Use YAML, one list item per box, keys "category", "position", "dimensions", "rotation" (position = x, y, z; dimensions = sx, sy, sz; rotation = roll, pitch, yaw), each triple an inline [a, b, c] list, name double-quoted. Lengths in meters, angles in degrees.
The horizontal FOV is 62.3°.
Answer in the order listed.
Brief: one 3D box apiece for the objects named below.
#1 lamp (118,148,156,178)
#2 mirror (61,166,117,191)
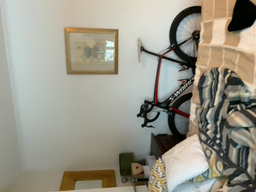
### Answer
- category: "lamp"
  position: [0.110, 0.890, 2.850]
  dimensions: [0.290, 0.460, 0.230]
  rotation: [-115, 25, -71]
- category: "mirror"
  position: [-0.470, 1.160, 2.600]
  dimensions: [0.700, 0.650, 0.150]
  rotation: [-115, 25, -71]
